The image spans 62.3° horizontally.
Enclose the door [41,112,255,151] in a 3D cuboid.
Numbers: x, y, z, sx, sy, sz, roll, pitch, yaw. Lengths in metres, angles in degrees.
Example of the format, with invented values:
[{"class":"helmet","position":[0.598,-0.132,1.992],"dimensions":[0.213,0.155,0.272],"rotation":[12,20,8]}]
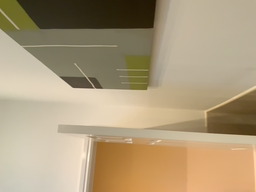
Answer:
[{"class":"door","position":[0.720,0.270,1.200],"dimensions":[0.970,2.040,0.070],"rotation":[86,-172,-77]}]
